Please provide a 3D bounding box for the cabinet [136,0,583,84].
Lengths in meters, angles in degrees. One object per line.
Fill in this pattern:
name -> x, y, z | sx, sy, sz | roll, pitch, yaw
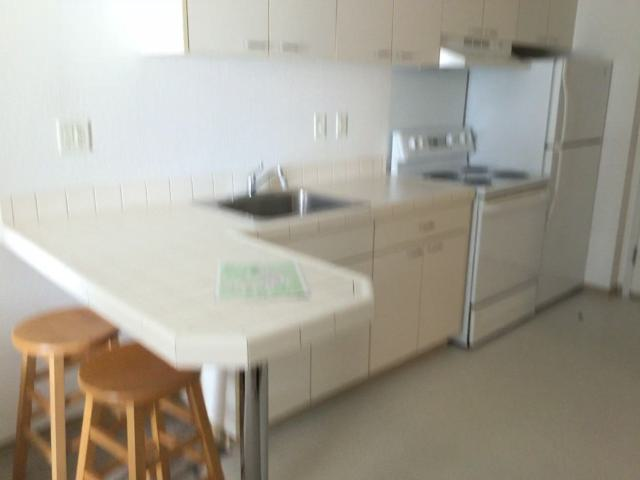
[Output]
cabinet -> 0.500, -1.320, 2.990 | 2.890, 0.920, 0.440 | -12, 18, -41

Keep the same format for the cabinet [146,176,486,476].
cabinet -> 0.080, 0.250, 2.750 | 1.610, 0.930, 0.540 | -12, 18, -41
